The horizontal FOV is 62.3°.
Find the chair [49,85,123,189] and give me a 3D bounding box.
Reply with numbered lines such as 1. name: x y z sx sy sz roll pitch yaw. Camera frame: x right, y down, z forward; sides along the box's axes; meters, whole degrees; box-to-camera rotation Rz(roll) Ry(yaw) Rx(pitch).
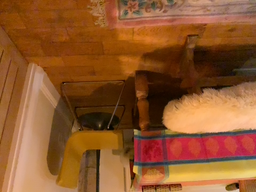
1. chair: -0.320 0.370 1.900 0.510 0.780 0.490 -3 151 -1
